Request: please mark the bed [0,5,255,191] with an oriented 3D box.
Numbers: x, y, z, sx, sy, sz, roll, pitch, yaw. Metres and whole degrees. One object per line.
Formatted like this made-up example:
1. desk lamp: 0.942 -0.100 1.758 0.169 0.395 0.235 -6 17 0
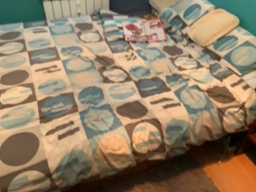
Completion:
1. bed: -0.160 -0.150 1.780 2.070 0.480 1.660 -13 44 -17
